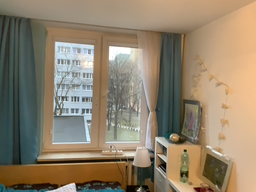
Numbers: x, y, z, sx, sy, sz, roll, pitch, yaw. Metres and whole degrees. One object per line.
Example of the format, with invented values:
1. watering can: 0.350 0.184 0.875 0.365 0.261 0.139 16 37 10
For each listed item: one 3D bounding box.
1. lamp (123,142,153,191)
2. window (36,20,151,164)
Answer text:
1. lamp: 0.120 0.900 2.740 0.250 0.490 0.430 2 2 -14
2. window: -0.450 -0.020 2.920 1.440 1.790 0.230 2 2 -15
